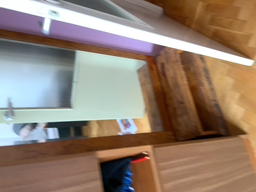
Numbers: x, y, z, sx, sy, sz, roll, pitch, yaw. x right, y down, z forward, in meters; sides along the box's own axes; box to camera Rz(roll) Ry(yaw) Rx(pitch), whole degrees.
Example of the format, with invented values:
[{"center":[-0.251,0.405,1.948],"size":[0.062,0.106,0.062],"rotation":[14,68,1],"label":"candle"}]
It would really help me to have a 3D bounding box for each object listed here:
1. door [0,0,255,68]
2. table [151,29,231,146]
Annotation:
[{"center":[-0.290,-0.440,0.870],"size":[0.810,2.080,0.080],"rotation":[47,124,45],"label":"door"},{"center":[0.390,-0.050,1.410],"size":[0.290,0.190,0.690],"rotation":[-33,62,49],"label":"table"}]
